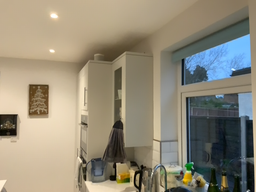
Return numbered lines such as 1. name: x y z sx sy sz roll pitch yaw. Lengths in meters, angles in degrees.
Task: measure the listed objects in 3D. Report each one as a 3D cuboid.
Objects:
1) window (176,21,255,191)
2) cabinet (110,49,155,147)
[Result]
1. window: 0.760 0.200 1.620 0.110 1.330 1.230 1 -3 -21
2. cabinet: 0.030 0.030 2.390 0.320 0.970 0.540 1 -3 -21
